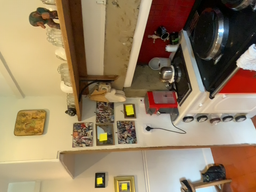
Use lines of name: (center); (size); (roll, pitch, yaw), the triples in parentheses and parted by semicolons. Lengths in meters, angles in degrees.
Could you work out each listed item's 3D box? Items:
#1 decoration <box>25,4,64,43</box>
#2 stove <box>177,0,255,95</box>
decoration: (-0.420, -0.370, 1.090); (0.120, 0.150, 0.140); (105, 163, -60)
stove: (0.590, -0.550, 1.340); (0.990, 0.120, 0.690); (105, 163, -60)
